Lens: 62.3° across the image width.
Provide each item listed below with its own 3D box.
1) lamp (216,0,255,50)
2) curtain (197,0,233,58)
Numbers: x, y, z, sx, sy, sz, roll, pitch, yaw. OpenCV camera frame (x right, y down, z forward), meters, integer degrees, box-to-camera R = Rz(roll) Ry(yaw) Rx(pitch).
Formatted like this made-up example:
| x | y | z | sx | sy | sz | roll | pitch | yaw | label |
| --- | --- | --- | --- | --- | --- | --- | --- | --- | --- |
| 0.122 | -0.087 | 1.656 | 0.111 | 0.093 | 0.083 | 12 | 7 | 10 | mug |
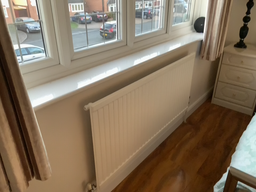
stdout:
| x | y | z | sx | sy | sz | roll | pitch | yaw | label |
| --- | --- | --- | --- | --- | --- | --- | --- | --- | --- |
| 1.300 | -0.940 | 2.460 | 0.330 | 0.700 | 0.300 | 20 | 33 | 35 | lamp |
| 0.860 | -1.070 | 1.900 | 0.160 | 1.400 | 0.310 | 19 | 32 | 33 | curtain |
